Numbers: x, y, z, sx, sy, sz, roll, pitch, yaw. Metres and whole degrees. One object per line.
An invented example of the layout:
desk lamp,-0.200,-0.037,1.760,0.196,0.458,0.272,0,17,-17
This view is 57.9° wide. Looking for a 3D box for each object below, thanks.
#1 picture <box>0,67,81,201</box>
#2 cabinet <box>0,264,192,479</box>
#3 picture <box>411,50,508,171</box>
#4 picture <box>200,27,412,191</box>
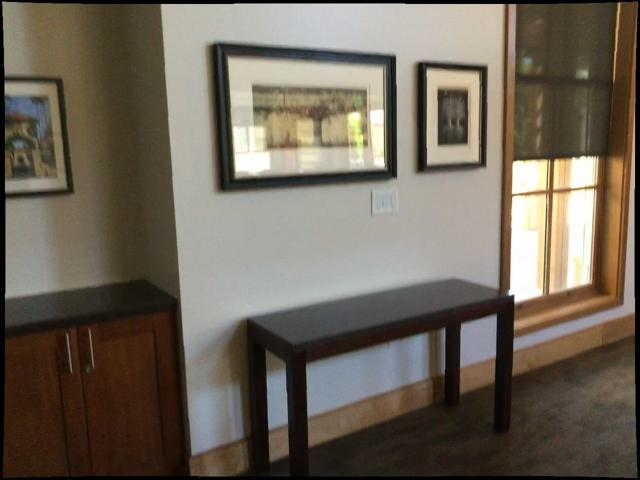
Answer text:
picture,-1.229,-0.430,2.360,0.410,0.521,0.070,-9,13,-29
cabinet,-1.329,0.661,2.210,1.499,0.841,0.500,-9,13,-29
picture,0.719,-0.661,2.950,0.570,0.571,0.080,-9,13,-29
picture,-0.010,-0.571,2.510,0.979,0.621,0.070,-9,13,-29
